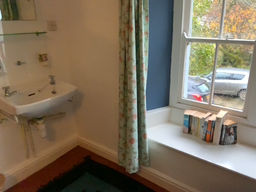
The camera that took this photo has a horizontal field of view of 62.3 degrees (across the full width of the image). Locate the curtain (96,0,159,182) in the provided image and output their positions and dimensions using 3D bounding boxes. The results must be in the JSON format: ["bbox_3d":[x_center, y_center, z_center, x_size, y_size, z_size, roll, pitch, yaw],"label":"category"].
[{"bbox_3d":[0.010,-0.200,1.580,0.310,1.710,0.310,11,23,31],"label":"curtain"}]

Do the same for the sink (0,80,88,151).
[{"bbox_3d":[-0.730,0.120,1.840,0.400,0.340,0.620,12,23,32],"label":"sink"}]
